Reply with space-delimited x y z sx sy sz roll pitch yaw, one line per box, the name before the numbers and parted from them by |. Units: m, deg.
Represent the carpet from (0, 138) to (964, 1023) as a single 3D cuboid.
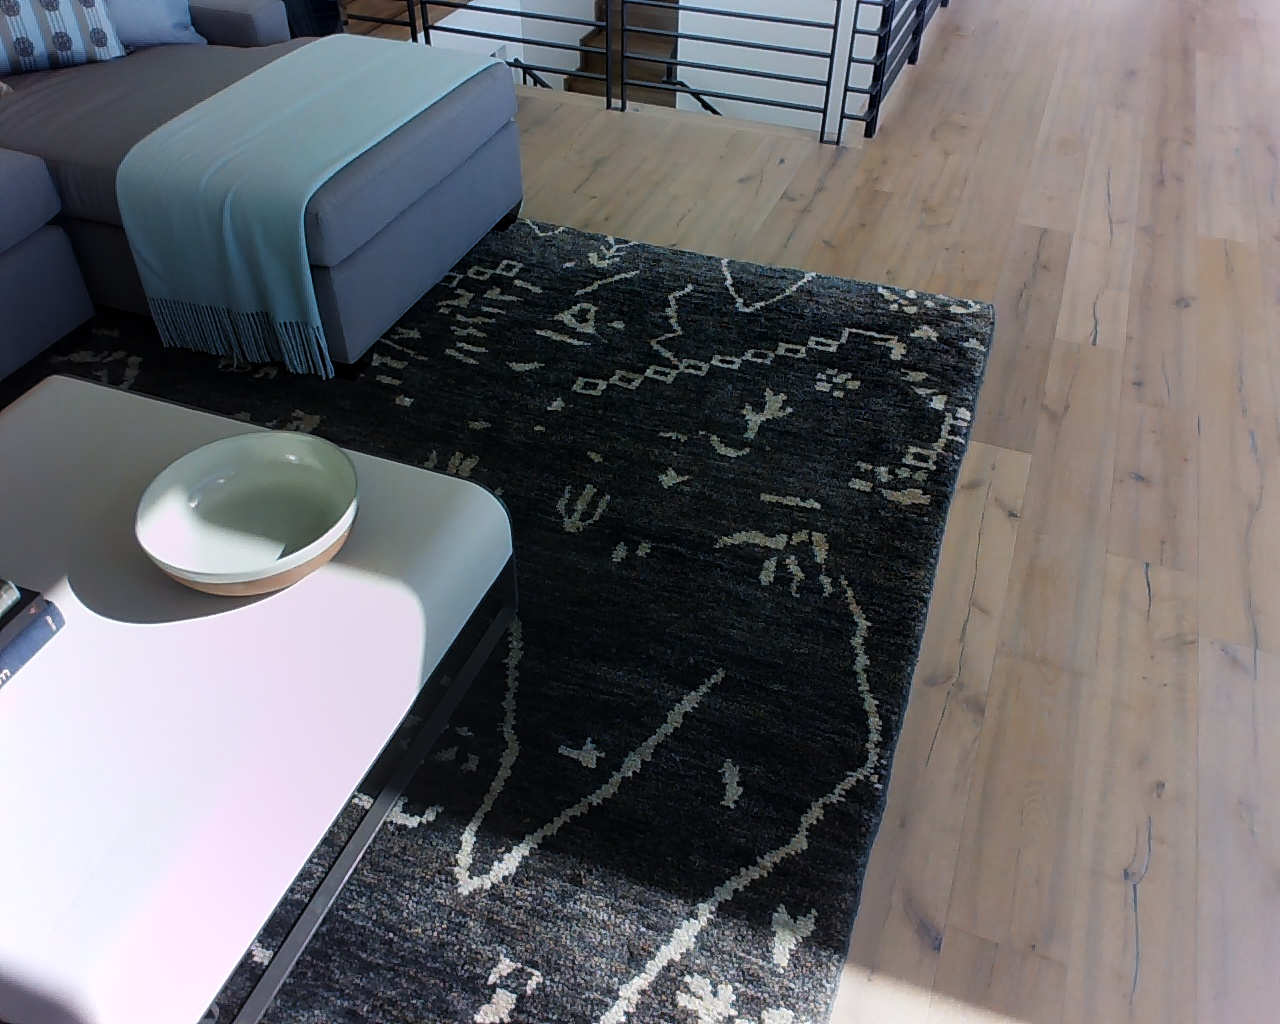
carpet | -0.930 0.160 2.140 2.650 0.010 3.690 14 43 14
